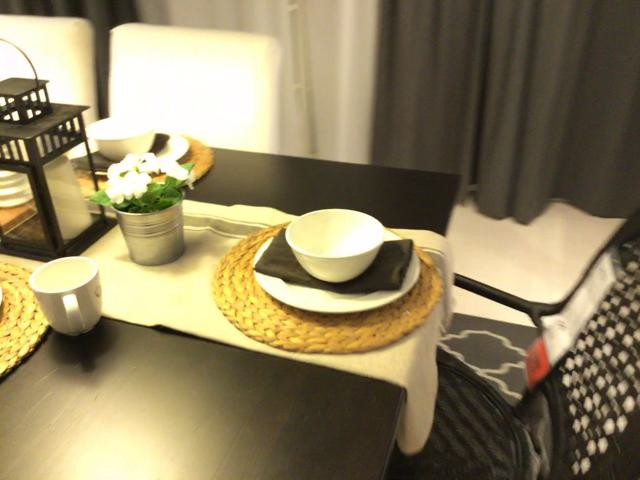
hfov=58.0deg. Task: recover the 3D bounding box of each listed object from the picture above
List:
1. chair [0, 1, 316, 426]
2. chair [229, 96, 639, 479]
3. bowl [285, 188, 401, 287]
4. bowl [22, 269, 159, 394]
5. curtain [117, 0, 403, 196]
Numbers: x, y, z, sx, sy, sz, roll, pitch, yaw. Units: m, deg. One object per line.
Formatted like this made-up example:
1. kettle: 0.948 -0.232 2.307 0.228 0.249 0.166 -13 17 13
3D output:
1. chair: -0.370 -0.090 1.590 0.560 0.950 0.540 11 32 15
2. chair: 0.260 0.260 0.950 0.570 0.780 0.580 11 32 15
3. bowl: 0.040 -0.010 0.920 0.140 0.060 0.170 11 32 15
4. bowl: -0.330 0.130 0.850 0.120 0.100 0.130 11 32 15
5. curtain: -0.290 -1.150 2.530 1.300 1.810 0.200 11 32 15
